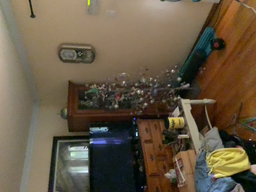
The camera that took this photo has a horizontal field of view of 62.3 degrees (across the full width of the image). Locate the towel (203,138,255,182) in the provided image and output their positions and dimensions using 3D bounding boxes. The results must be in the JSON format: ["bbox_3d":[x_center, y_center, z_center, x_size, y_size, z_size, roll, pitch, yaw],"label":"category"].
[{"bbox_3d":[0.870,0.540,1.800,0.240,0.300,0.260,102,164,-46],"label":"towel"}]

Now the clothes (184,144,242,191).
[{"bbox_3d":[0.720,0.760,1.900,0.450,0.170,0.460,-106,20,-55],"label":"clothes"}]

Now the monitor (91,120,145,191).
[{"bbox_3d":[-0.160,0.890,2.870,0.060,0.660,1.200,107,160,-55],"label":"monitor"}]
